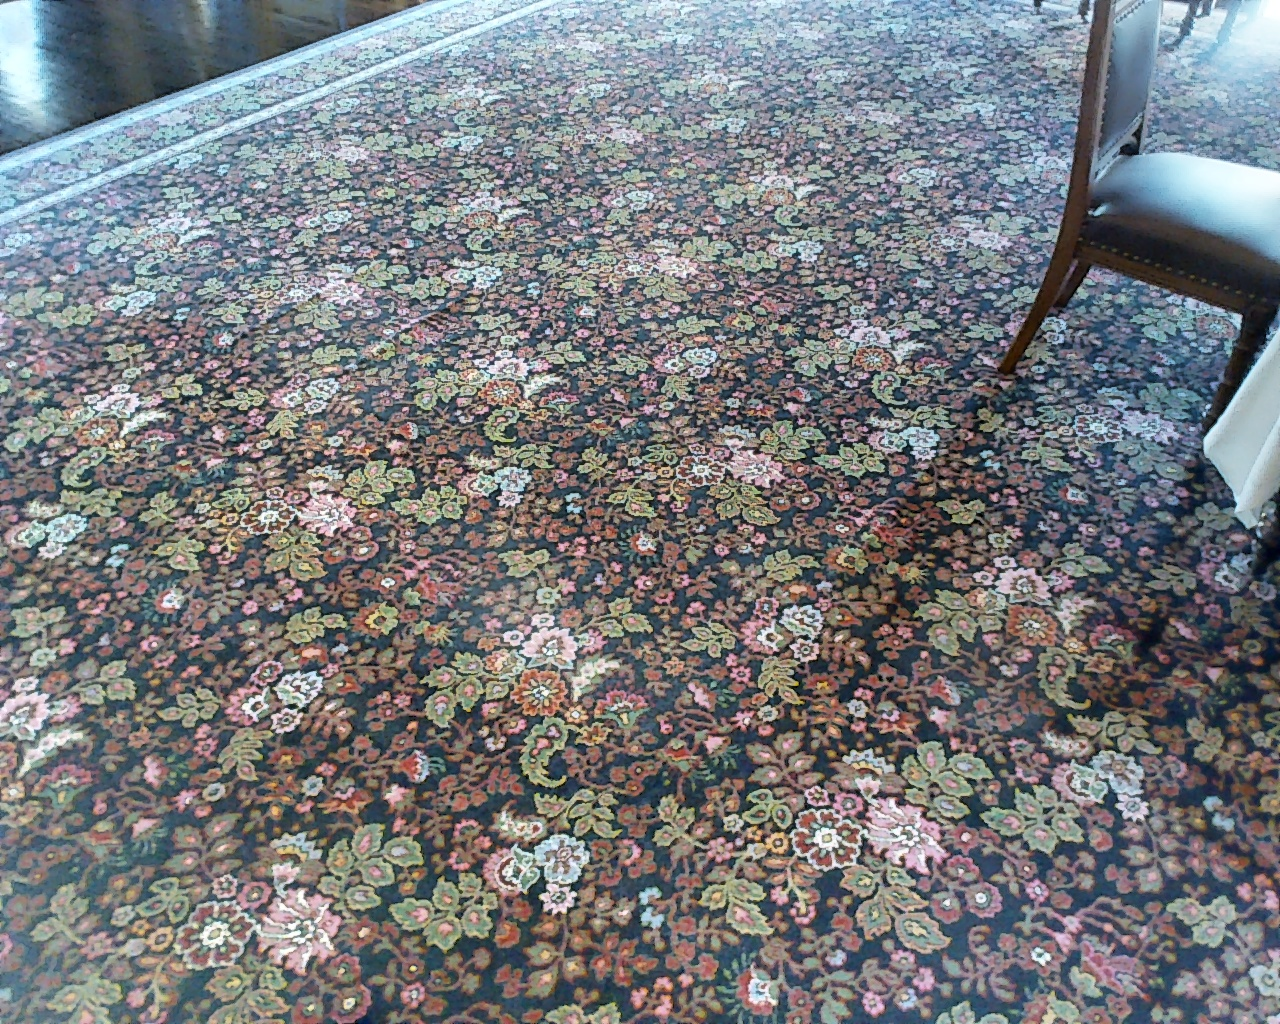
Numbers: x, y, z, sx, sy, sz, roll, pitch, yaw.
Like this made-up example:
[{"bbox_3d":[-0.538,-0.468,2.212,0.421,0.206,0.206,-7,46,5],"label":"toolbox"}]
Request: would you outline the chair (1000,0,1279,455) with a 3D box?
[{"bbox_3d":[1.370,-0.780,2.440,0.690,0.980,0.590,26,48,26],"label":"chair"}]
